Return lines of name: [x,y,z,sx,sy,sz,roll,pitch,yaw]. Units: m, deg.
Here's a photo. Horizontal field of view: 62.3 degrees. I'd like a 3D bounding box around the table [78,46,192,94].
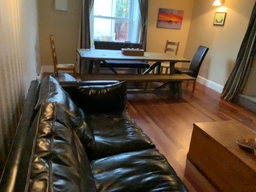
table: [0.100,-0.620,4.880,2.340,0.760,1.040,-2,22,-18]
